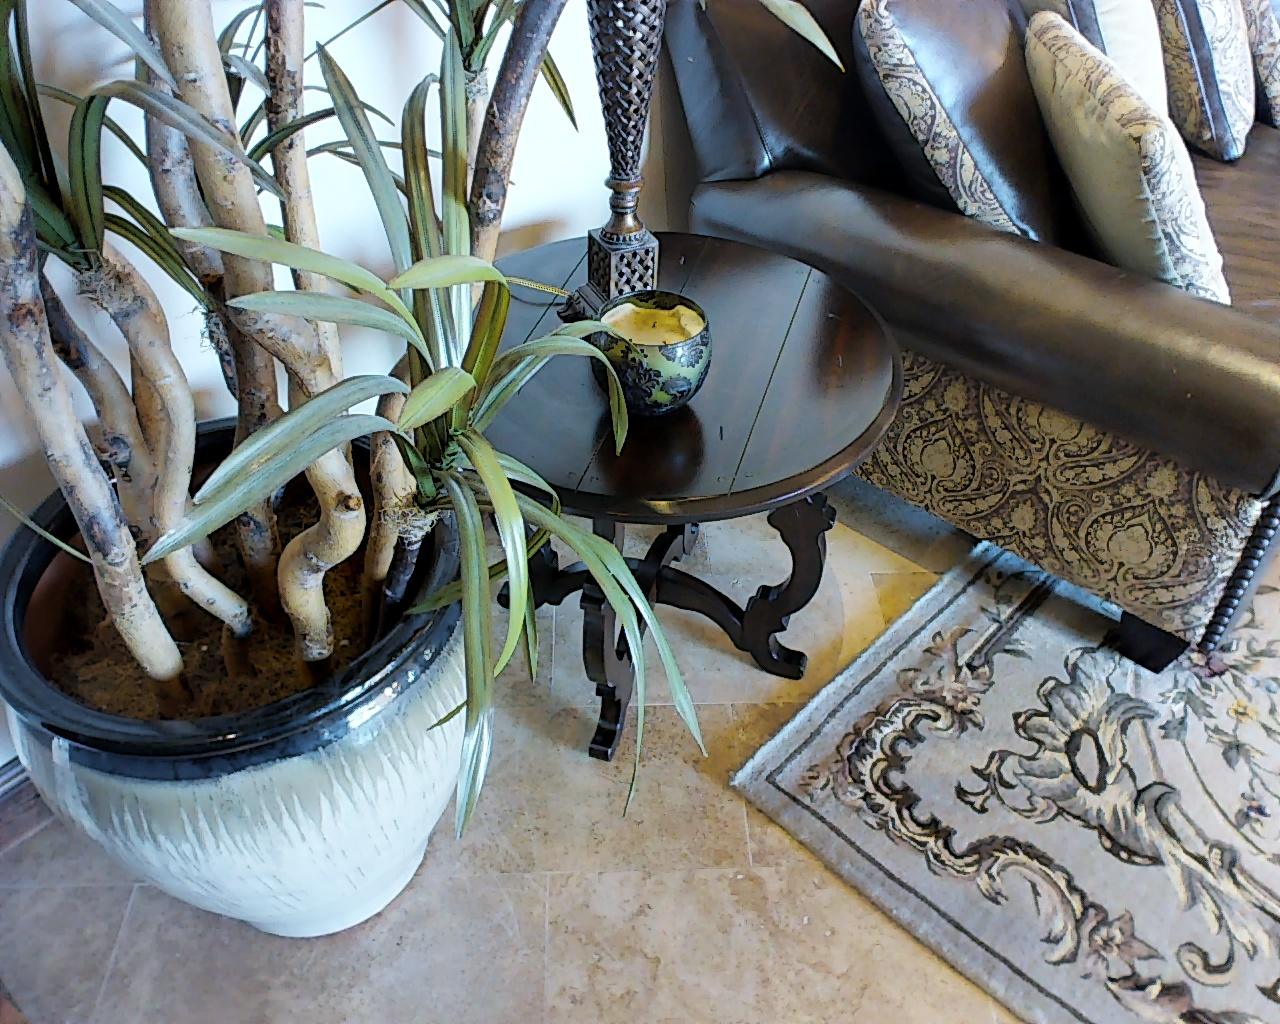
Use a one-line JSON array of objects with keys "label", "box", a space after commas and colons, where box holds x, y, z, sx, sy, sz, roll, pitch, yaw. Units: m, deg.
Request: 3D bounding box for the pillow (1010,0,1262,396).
[{"label": "pillow", "box": [0.830, -0.530, 1.780, 0.200, 0.510, 0.520, -18, -19, 24]}]
